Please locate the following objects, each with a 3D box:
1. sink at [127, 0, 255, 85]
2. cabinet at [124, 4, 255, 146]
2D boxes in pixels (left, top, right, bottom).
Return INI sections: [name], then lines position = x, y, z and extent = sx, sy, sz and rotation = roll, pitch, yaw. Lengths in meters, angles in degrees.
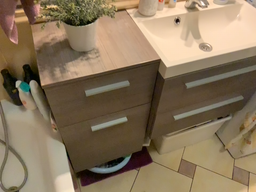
[sink]
position = 0.350, -0.300, 0.930
extent = 0.600, 0.120, 0.410
rotation = -15, 52, -15
[cabinet]
position = 0.340, -0.120, 1.140
extent = 0.600, 0.490, 0.420
rotation = -15, 52, -15
